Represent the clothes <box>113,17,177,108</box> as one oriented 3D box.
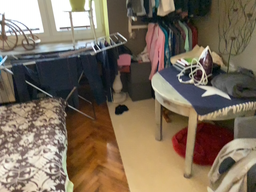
[{"bbox_3d":[0.200,-0.480,2.900,0.610,1.020,0.630,-10,29,-15],"label":"clothes"}]
